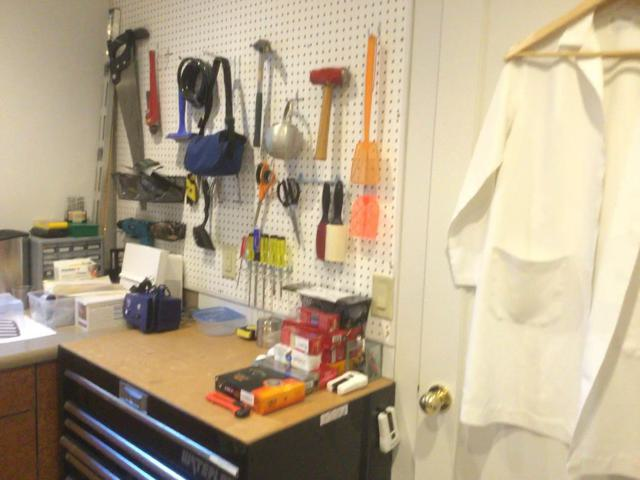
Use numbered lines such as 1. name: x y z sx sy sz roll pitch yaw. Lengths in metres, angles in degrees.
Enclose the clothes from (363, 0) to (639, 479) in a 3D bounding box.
1. clothes: 0.510 0.390 1.220 0.900 1.860 0.150 8 9 40
